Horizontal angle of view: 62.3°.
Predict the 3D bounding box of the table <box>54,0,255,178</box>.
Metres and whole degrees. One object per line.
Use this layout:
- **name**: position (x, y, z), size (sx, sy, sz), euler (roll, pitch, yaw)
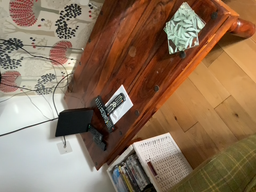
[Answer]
- **table**: position (0.010, -0.130, 1.300), size (0.680, 0.400, 1.190), euler (57, 132, 26)
